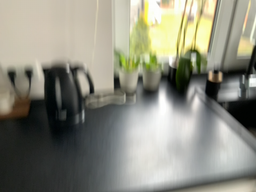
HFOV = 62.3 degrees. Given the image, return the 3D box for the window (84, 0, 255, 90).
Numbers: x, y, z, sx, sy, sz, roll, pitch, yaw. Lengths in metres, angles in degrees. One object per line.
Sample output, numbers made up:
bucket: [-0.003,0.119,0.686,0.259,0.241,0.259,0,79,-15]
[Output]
window: [0.560,-0.800,1.190,1.610,1.450,0.190,-6,28,-13]

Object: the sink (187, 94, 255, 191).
sink: [0.620,0.200,1.040,0.480,0.250,0.400,-5,28,-12]
